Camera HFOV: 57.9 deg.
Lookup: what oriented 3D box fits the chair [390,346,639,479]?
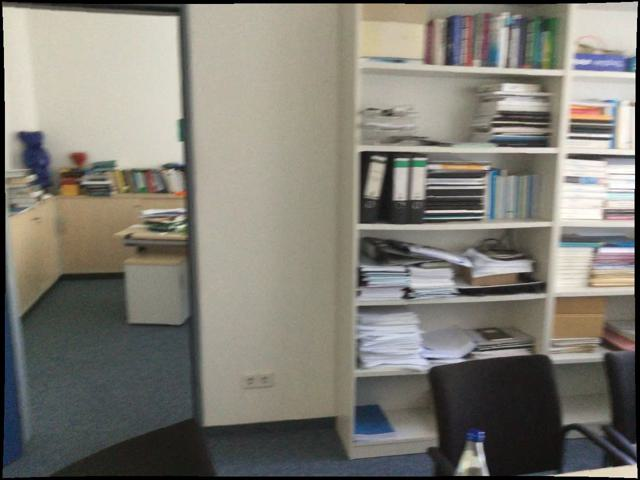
[{"bbox_3d":[0.569,0.801,1.630,0.599,0.781,0.590,-2,13,-8],"label":"chair"}]
